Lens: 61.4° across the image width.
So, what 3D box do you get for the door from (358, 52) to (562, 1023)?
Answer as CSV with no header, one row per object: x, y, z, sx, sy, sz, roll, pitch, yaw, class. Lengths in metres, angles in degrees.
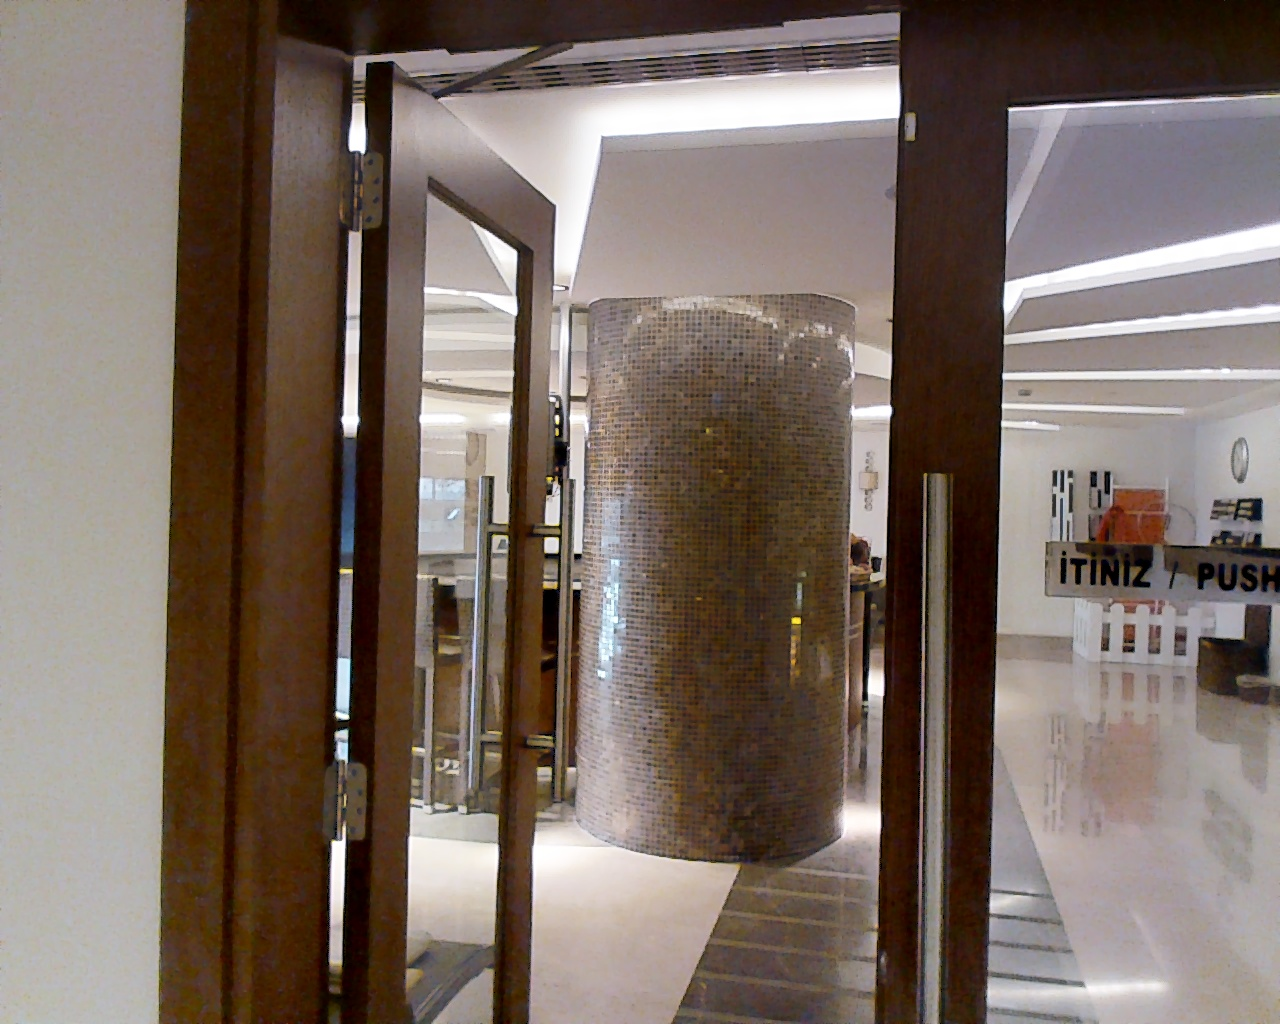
-0.280,0.480,1.800,0.080,2.210,0.670,1,0,11,door
